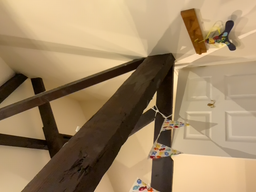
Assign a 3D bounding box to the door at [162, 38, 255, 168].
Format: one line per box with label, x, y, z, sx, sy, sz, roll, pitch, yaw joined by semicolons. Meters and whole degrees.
door;1.320;0.000;1.530;0.110;2.070;1.080;46;-131;-53
